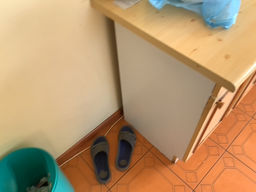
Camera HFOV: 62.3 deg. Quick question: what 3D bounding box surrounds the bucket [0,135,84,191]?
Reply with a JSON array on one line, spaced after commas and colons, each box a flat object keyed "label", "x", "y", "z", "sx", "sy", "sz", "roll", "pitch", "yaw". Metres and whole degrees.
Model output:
[{"label": "bucket", "x": -0.420, "y": 0.450, "z": 1.040, "sx": 0.270, "sy": 0.390, "sz": 0.260, "roll": -38, "pitch": 60, "yaw": -24}]
